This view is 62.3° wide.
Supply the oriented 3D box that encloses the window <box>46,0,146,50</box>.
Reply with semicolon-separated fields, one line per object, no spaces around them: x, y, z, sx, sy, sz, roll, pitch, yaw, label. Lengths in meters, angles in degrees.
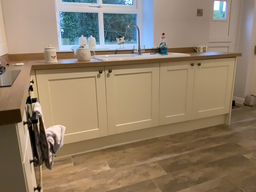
-0.370;-1.100;2.800;1.310;0.910;0.090;-7;16;-21;window
